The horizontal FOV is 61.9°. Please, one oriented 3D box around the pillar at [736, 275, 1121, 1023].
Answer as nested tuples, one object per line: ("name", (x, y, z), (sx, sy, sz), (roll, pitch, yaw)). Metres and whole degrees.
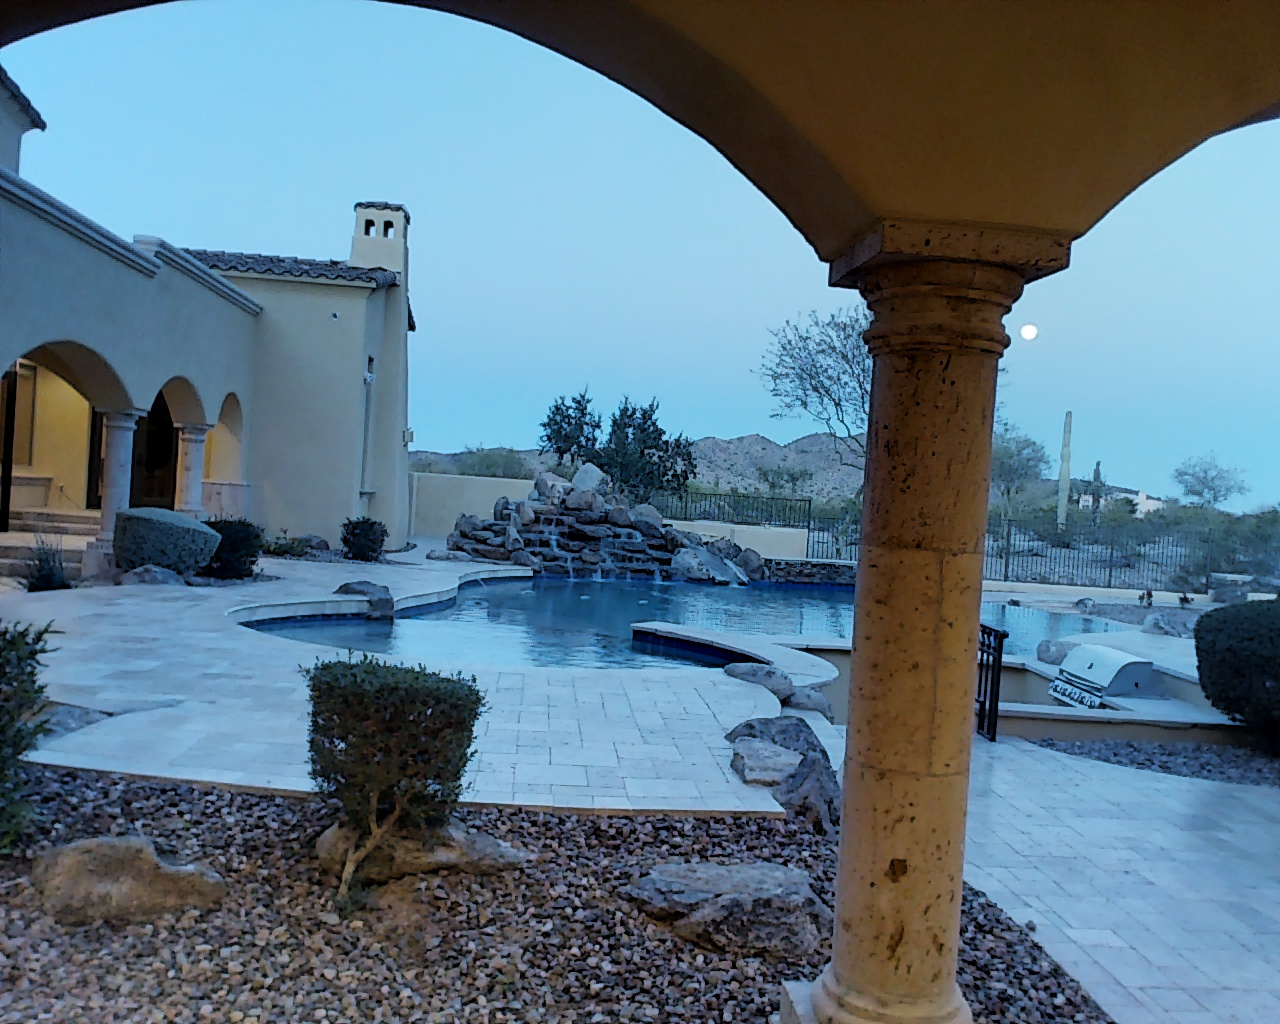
("pillar", (0.680, 0.520, 2.680), (0.690, 2.070, 0.500), (3, 0, -5))
